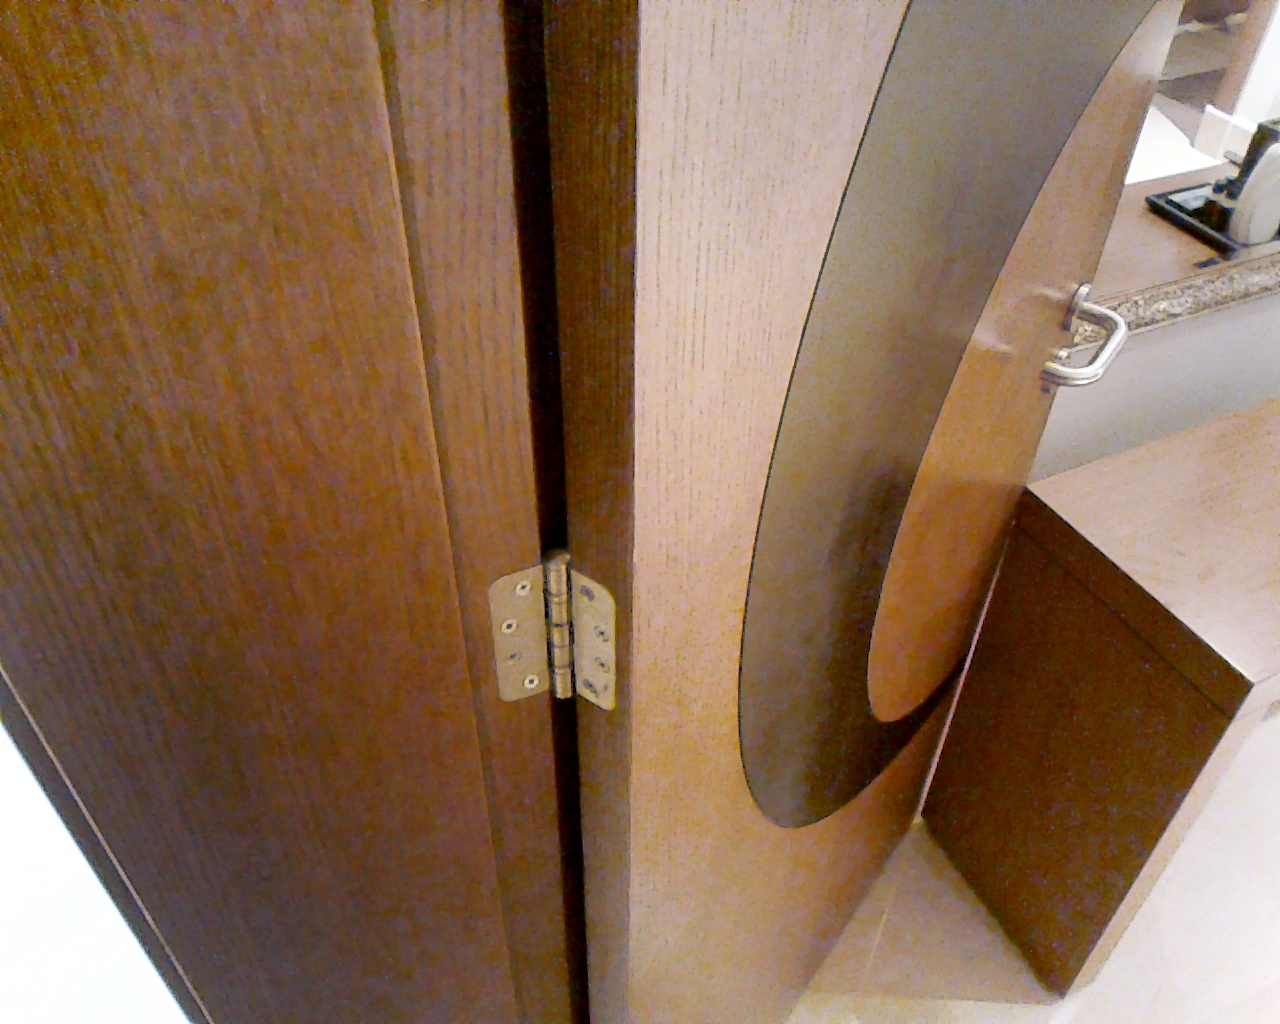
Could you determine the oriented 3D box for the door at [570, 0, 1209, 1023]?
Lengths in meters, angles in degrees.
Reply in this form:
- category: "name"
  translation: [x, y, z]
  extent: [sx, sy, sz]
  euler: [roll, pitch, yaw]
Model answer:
- category: "door"
  translation: [0.240, -0.070, 0.900]
  extent: [0.040, 2.180, 0.820]
  euler: [28, 49, 27]
